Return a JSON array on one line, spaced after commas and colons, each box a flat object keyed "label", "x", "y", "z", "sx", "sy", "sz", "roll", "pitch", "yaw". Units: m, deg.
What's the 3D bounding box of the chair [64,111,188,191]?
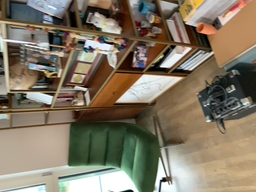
[{"label": "chair", "x": -0.070, "y": 0.520, "z": 2.130, "sx": 0.800, "sy": 0.940, "sz": 0.500, "roll": 24, "pitch": 112, "yaw": 60}]
